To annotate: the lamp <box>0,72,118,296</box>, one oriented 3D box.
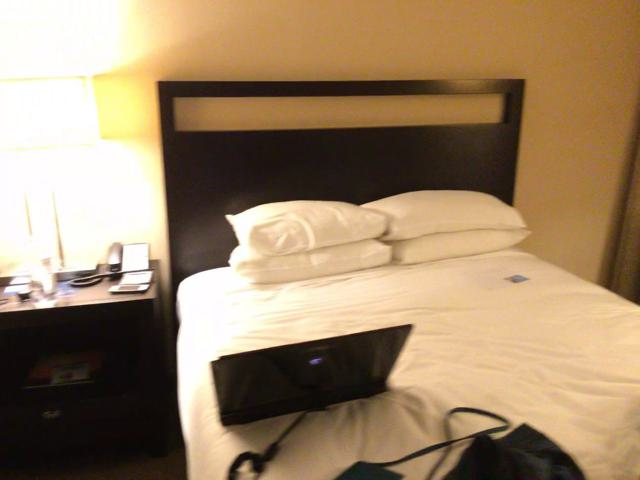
[{"bbox_3d":[-1.070,-0.220,2.200,0.470,0.790,0.290,-3,13,-12],"label":"lamp"}]
